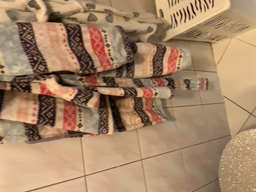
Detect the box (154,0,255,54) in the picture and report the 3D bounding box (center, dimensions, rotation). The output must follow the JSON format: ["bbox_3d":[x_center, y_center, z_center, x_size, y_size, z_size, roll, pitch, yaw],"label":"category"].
[{"bbox_3d":[0.450,-0.450,1.120,0.370,0.460,0.280,-21,75,49],"label":"box"}]
